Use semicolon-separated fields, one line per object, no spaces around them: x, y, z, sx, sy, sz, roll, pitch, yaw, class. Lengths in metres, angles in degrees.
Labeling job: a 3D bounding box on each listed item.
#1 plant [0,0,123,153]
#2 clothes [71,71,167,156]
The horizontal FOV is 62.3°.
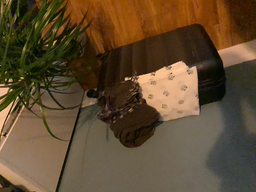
-0.340;-0.270;0.860;0.430;0.760;0.470;-21;129;20;plant
-0.030;0.100;1.010;0.320;0.170;0.310;-20;129;19;clothes
